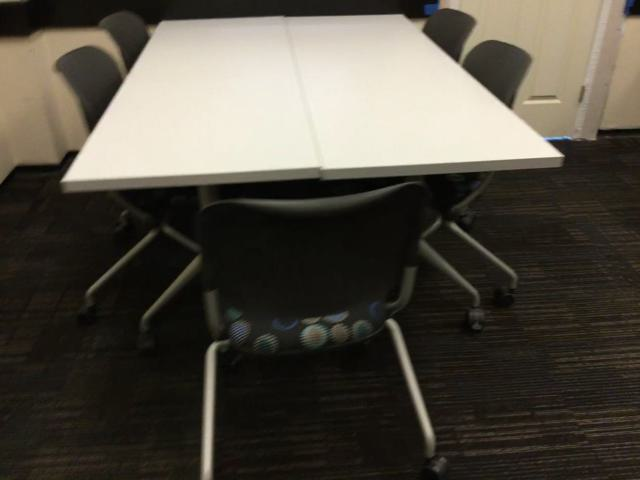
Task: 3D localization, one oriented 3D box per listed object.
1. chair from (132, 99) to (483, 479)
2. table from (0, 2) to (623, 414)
[{"bbox_3d":[-0.010,0.140,1.470,0.610,0.800,0.610,-2,31,1],"label":"chair"},{"bbox_3d":[-0.050,-0.330,2.280,1.430,0.830,1.780,-3,31,-1],"label":"table"}]
